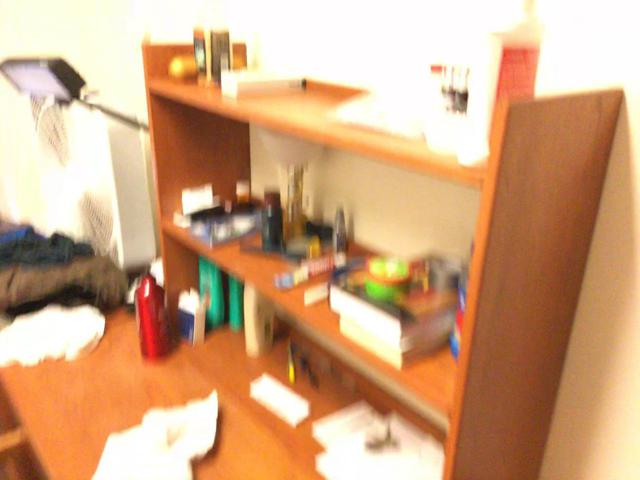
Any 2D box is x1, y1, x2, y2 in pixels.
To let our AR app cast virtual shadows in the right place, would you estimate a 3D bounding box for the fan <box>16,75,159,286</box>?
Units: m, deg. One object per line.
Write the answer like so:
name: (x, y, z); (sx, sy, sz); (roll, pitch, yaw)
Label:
fan: (-0.750, -0.220, 1.850); (0.200, 0.540, 0.550); (-15, 27, -37)
